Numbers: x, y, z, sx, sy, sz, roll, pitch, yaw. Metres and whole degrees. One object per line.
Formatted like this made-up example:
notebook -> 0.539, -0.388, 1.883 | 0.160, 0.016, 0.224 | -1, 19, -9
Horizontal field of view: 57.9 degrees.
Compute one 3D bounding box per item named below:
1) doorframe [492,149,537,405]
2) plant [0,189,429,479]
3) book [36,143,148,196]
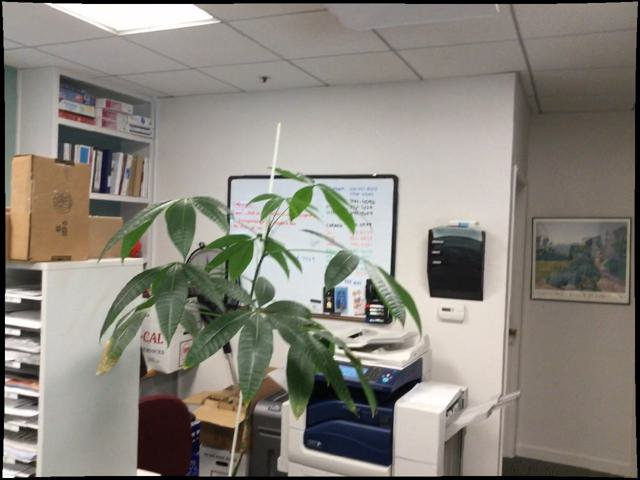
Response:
doorframe -> 1.319, 0.210, 3.880 | 0.140, 1.552, 0.830 | 3, 4, 25
plant -> -0.180, 0.721, 1.190 | 0.609, 1.622, 0.650 | 3, 4, 25
book -> -1.449, -0.440, 3.750 | 0.220, 0.290, 0.750 | 2, 4, 22
